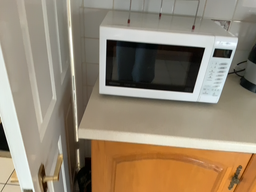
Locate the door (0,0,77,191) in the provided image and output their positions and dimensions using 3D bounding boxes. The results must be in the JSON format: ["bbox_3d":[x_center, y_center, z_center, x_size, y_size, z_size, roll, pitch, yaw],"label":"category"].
[{"bbox_3d":[-0.300,-0.040,0.870,0.030,2.030,0.870,1,31,-8],"label":"door"}]

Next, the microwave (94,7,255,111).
[{"bbox_3d":[0.160,-0.190,0.980,0.570,0.310,0.380,5,31,0],"label":"microwave"}]
